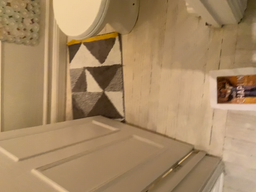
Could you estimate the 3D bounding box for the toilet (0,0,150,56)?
[{"bbox_3d":[-0.280,-0.610,1.120,0.480,0.770,0.680,5,95,34],"label":"toilet"}]
